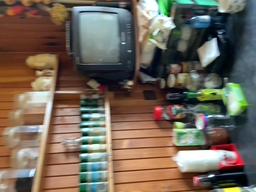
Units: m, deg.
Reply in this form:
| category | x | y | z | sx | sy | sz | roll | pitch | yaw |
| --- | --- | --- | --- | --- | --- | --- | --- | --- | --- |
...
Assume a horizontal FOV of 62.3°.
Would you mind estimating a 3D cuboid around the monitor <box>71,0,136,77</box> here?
| category | x | y | z | sx | sy | sz | roll | pitch | yaw |
| --- | --- | --- | --- | --- | --- | --- | --- | --- | --- |
| monitor | -0.150 | -0.330 | 1.290 | 0.310 | 0.340 | 0.400 | -176 | 85 | -81 |

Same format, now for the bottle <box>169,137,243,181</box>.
| category | x | y | z | sx | sy | sz | roll | pitch | yaw |
| --- | --- | --- | --- | --- | --- | --- | --- | --- | --- |
| bottle | 0.390 | 0.320 | 1.090 | 0.090 | 0.310 | 0.180 | 101 | 166 | -52 |
